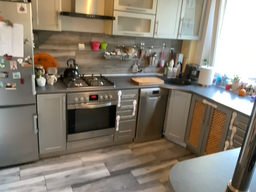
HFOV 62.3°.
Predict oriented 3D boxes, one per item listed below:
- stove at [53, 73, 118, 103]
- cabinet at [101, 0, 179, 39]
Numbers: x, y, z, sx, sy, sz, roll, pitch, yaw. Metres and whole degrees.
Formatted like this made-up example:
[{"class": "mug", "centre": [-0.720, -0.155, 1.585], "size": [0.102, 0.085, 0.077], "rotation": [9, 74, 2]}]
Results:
[{"class": "stove", "centre": [-0.550, -0.130, 2.670], "size": [0.650, 0.180, 0.610], "rotation": [-4, 21, -27]}, {"class": "cabinet", "centre": [0.170, -1.130, 2.860], "size": [0.980, 0.620, 0.300], "rotation": [-4, 21, -27]}]
